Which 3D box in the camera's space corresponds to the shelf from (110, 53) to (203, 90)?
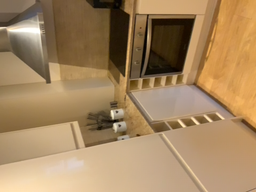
[{"bbox_3d":[0.310,-0.320,2.470,0.570,0.900,0.120,-125,33,-51],"label":"shelf"}]
